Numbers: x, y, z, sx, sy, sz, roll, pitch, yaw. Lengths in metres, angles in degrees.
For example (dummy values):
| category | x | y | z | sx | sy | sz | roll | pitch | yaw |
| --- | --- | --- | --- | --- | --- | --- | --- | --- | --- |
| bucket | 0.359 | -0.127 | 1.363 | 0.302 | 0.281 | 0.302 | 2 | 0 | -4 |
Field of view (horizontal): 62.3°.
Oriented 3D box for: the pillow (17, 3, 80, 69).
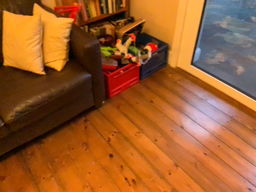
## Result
| category | x | y | z | sx | sy | sz | roll | pitch | yaw |
| --- | --- | --- | --- | --- | --- | --- | --- | --- | --- |
| pillow | -0.580 | -0.420 | 1.550 | 0.380 | 0.400 | 0.130 | -1 | 16 | 29 |

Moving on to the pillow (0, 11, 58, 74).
| category | x | y | z | sx | sy | sz | roll | pitch | yaw |
| --- | --- | --- | --- | --- | --- | --- | --- | --- | --- |
| pillow | -0.740 | -0.370 | 1.520 | 0.360 | 0.380 | 0.170 | 0 | 18 | 27 |

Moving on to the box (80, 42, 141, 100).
| category | x | y | z | sx | sy | sz | roll | pitch | yaw |
| --- | --- | --- | --- | --- | --- | --- | --- | --- | --- |
| box | -0.170 | -0.260 | 2.070 | 0.350 | 0.280 | 0.470 | -32 | 51 | -30 |

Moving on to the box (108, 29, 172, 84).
| category | x | y | z | sx | sy | sz | roll | pitch | yaw |
| --- | --- | --- | --- | --- | --- | --- | --- | --- | --- |
| box | 0.120 | -0.440 | 2.270 | 0.440 | 0.280 | 0.480 | -30 | 50 | -28 |
